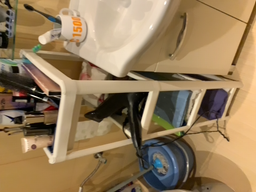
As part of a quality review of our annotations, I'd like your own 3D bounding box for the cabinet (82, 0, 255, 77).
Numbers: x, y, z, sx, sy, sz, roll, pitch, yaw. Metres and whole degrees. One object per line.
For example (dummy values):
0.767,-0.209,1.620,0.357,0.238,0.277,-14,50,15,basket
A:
0.260,-0.390,0.920,0.310,0.770,0.530,32,115,43,cabinet
